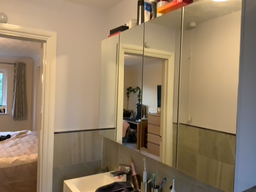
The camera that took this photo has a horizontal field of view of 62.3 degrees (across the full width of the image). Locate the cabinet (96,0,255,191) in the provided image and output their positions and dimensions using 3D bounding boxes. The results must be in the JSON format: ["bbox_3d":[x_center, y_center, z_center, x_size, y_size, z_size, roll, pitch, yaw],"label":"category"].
[{"bbox_3d":[0.160,-0.040,1.360,0.170,0.830,1.240,1,1,-34],"label":"cabinet"}]
